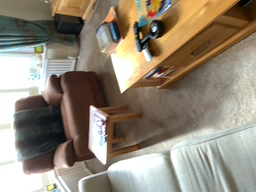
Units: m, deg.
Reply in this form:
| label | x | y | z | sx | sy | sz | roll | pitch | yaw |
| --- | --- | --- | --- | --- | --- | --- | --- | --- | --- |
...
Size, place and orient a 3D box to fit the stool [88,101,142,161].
| label | x | y | z | sx | sy | sz | roll | pitch | yaw |
| --- | --- | --- | --- | --- | --- | --- | --- | --- | --- |
| stool | -0.140 | 0.330 | 2.170 | 0.350 | 0.400 | 0.450 | 24 | 113 | 52 |
